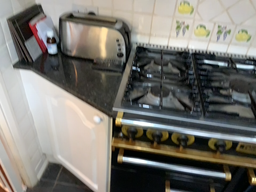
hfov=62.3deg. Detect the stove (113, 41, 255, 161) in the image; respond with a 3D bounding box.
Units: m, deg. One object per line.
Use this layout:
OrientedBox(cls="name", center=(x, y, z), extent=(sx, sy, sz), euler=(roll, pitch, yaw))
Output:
OrientedBox(cls="stove", center=(0.530, 0.000, 1.030), extent=(1.100, 0.160, 0.630), euler=(8, 38, 4))
